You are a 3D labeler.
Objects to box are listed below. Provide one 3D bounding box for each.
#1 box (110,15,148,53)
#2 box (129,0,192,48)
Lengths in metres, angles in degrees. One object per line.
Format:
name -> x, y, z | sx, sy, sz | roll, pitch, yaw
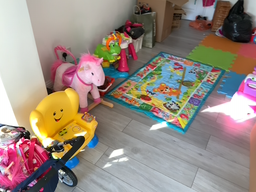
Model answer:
box -> 0.010, -0.890, 3.030 | 0.400, 0.360, 0.340 | 22, 41, 22
box -> 0.520, -1.350, 3.320 | 0.730, 0.830, 0.690 | 19, 40, 20
